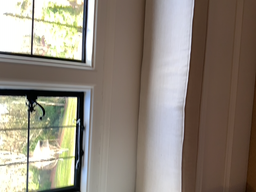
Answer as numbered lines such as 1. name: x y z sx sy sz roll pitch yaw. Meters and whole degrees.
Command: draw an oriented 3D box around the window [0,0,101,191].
1. window: -0.670 -0.080 1.020 0.090 1.080 1.270 8 96 60
